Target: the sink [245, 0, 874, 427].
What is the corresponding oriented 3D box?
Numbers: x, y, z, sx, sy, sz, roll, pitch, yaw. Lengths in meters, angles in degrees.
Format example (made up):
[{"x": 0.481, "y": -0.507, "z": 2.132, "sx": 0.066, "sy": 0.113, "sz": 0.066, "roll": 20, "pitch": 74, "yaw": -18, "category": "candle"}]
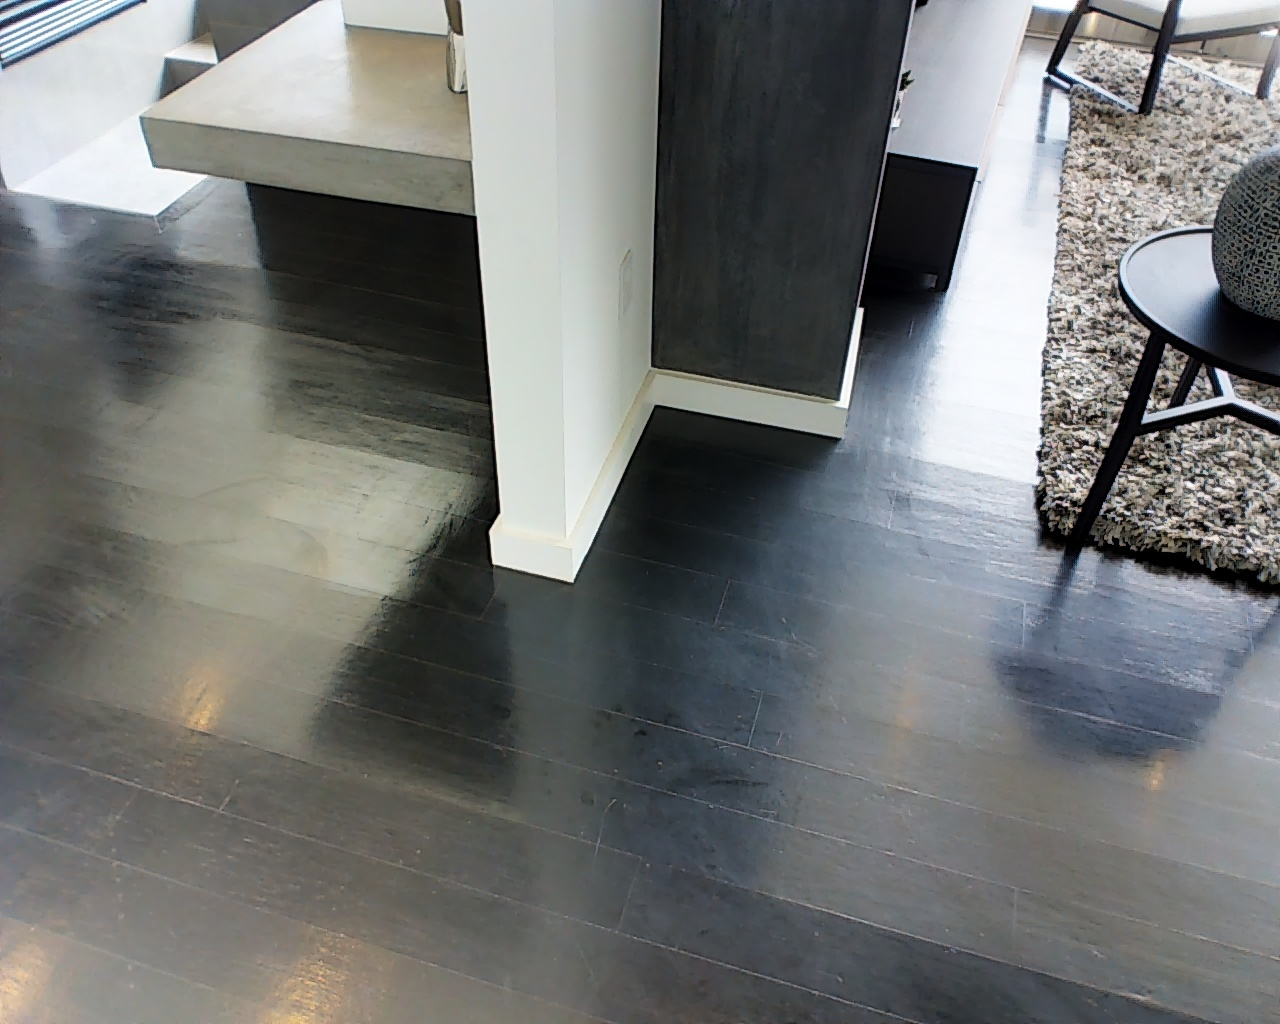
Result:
[{"x": -0.330, "y": -1.000, "z": 2.320, "sx": 0.910, "sy": 0.640, "sz": 1.650, "roll": -11, "pitch": 44, "yaw": -14, "category": "sink"}]
